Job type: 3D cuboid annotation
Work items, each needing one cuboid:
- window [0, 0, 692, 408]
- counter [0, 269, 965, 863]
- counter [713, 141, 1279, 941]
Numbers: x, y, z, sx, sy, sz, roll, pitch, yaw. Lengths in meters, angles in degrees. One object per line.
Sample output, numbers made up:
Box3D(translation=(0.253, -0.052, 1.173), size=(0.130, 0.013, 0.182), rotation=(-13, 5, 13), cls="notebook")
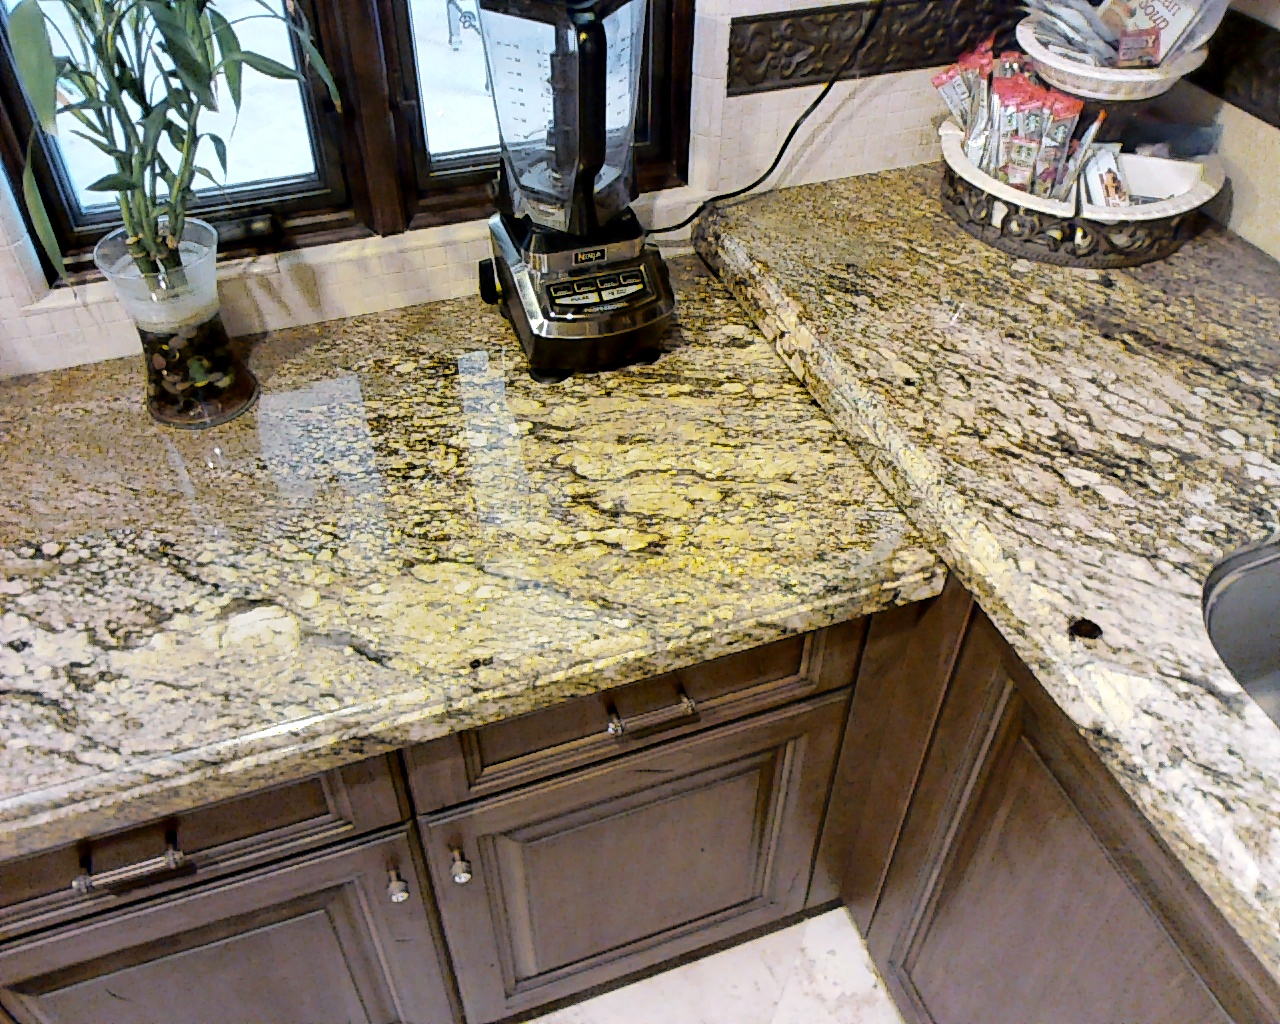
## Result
Box3D(translation=(-0.340, -0.680, 1.030), size=(0.800, 1.150, 0.140), rotation=(-13, 44, -14), cls="window")
Box3D(translation=(-0.800, 0.110, 1.010), size=(2.150, 0.030, 0.630), rotation=(-13, 44, -14), cls="counter")
Box3D(translation=(0.790, 0.300, 0.700), size=(0.630, 0.060, 2.370), rotation=(-13, 44, -14), cls="counter")
